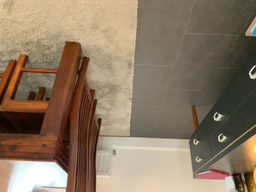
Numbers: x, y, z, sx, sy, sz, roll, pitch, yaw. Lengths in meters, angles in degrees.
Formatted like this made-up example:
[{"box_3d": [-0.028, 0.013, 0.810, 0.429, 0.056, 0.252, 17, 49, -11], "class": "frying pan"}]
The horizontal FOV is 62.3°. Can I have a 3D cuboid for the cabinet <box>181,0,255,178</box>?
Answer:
[{"box_3d": [0.760, 0.040, 1.340, 0.470, 0.650, 1.340, 2, 148, 0], "class": "cabinet"}]
